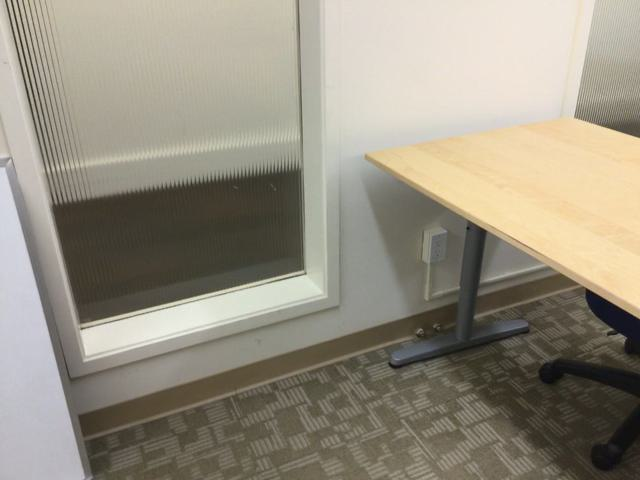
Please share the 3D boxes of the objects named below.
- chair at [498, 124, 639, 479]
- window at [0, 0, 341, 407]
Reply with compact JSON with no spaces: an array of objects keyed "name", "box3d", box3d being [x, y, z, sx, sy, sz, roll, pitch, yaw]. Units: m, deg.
[{"name":"chair","box3d":[0.920,0.170,1.560,0.530,0.810,0.560,-13,28,-21]},{"name":"window","box3d":[-0.420,-0.330,1.500,0.910,1.430,0.230,-13,28,-21]}]
